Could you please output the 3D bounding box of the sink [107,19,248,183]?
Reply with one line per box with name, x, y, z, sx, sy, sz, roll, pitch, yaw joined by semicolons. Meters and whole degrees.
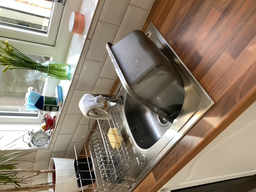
sink;0.140;0.020;0.970;0.490;0.190;0.520;-59;39;36
